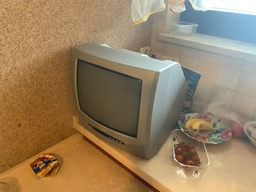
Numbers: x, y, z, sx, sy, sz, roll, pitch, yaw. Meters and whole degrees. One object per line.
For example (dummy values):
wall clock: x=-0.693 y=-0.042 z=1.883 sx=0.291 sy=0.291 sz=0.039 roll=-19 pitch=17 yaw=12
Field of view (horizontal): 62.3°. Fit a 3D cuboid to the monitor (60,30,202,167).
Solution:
monitor: x=0.020 y=-0.040 z=0.890 sx=0.390 sy=0.350 sz=0.390 roll=21 pitch=33 yaw=29
